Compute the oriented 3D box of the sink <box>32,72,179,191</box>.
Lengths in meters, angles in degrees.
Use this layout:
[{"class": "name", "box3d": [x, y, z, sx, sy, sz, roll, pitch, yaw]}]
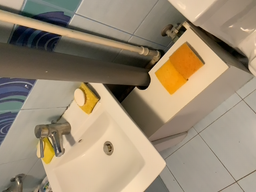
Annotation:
[{"class": "sink", "box3d": [-0.150, 0.260, 0.930, 0.610, 0.170, 0.400, -49, 63, 27]}]
